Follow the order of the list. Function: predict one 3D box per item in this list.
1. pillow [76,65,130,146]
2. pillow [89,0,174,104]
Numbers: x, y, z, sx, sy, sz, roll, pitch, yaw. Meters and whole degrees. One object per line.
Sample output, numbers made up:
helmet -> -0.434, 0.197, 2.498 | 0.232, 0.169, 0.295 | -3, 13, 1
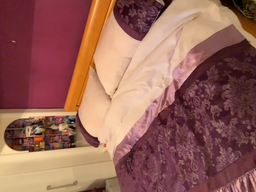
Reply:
pillow -> -0.240, 0.090, 1.770 | 0.520, 0.230, 0.420 | -61, 39, 43
pillow -> -0.030, -0.290, 1.370 | 0.570, 0.240, 0.420 | -60, 39, 43
